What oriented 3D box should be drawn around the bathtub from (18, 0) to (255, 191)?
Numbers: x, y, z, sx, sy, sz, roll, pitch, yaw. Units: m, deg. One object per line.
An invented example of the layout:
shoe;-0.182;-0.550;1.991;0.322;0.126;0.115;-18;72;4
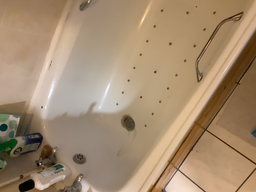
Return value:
bathtub;0.190;-0.290;0.960;0.710;0.560;1.710;36;111;23
